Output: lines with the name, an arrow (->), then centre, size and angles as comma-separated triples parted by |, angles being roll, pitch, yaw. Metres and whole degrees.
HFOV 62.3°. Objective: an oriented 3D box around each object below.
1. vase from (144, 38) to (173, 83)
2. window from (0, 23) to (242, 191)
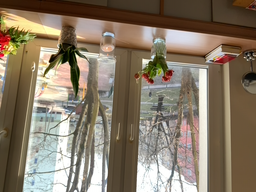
vase -> 0.230, -0.260, 1.620 | 0.170, 0.280, 0.190 | 4, 170, -8
window -> -0.360, 0.300, 1.600 | 2.590, 1.590, 0.130 | 5, 170, -9
